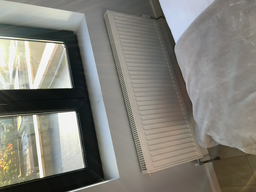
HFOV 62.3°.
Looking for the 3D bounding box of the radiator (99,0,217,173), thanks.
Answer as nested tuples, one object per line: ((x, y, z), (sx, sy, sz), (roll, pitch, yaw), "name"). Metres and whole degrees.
((0.210, -0.150, 1.630), (0.100, 0.630, 1.280), (-39, 61, 51), "radiator")

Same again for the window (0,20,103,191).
((-0.880, 0.060, 1.270), (0.110, 1.330, 1.190), (-34, 64, 52), "window")
